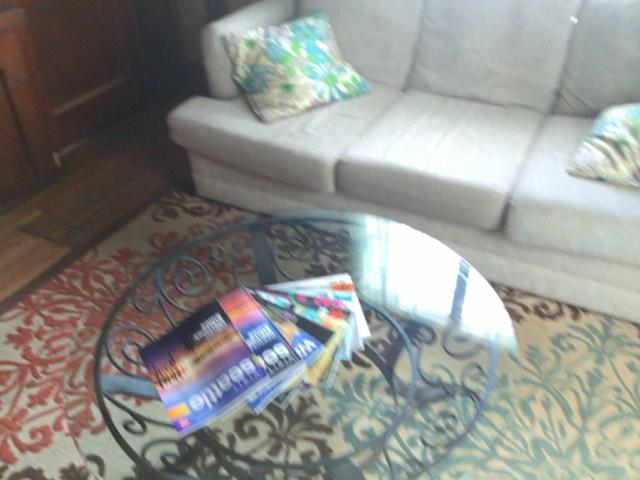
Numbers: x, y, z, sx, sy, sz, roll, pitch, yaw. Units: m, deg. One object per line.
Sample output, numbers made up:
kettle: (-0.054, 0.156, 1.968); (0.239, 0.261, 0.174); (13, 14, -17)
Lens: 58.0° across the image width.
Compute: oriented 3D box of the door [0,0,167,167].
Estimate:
door: (-1.110, -1.390, 2.520); (0.190, 1.980, 0.800); (16, 34, 22)
